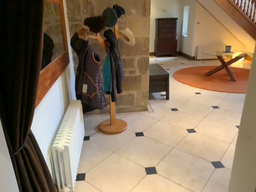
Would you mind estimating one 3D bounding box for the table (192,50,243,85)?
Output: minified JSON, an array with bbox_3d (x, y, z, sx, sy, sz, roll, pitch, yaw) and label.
[{"bbox_3d":[2.530,-0.860,6.190,1.110,0.730,1.110,4,22,10],"label":"table"}]
